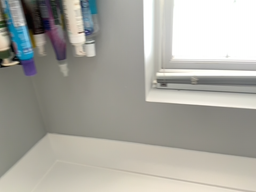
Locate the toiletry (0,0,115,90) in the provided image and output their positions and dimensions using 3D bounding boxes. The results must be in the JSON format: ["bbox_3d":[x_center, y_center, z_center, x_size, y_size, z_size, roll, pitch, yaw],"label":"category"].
[{"bbox_3d":[-0.260,-0.200,0.590,0.350,0.240,0.280,6,-152,19],"label":"toiletry"}]
